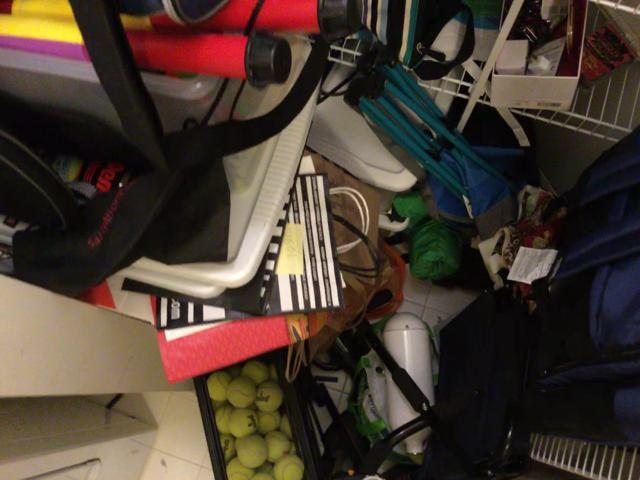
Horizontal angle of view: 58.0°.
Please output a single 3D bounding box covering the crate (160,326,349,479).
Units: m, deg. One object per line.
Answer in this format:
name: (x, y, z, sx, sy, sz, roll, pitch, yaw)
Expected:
crate: (-0.140, 0.460, 1.410, 0.300, 0.370, 0.340, -22, -15, -4)
